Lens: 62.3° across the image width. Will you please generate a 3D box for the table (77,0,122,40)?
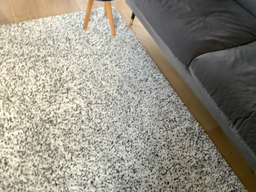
[{"bbox_3d":[-0.240,-0.720,1.730,0.270,0.370,0.270,-19,61,-20],"label":"table"}]
